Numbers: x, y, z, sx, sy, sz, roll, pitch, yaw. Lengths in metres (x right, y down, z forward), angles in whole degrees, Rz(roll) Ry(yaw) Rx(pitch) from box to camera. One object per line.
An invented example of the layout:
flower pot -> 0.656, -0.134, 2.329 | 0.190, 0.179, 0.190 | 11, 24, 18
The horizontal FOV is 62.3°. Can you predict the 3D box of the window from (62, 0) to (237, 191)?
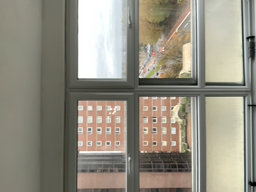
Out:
window -> 0.210, 0.530, 2.070 | 0.140, 1.640, 3.330 | 158, 112, -88
